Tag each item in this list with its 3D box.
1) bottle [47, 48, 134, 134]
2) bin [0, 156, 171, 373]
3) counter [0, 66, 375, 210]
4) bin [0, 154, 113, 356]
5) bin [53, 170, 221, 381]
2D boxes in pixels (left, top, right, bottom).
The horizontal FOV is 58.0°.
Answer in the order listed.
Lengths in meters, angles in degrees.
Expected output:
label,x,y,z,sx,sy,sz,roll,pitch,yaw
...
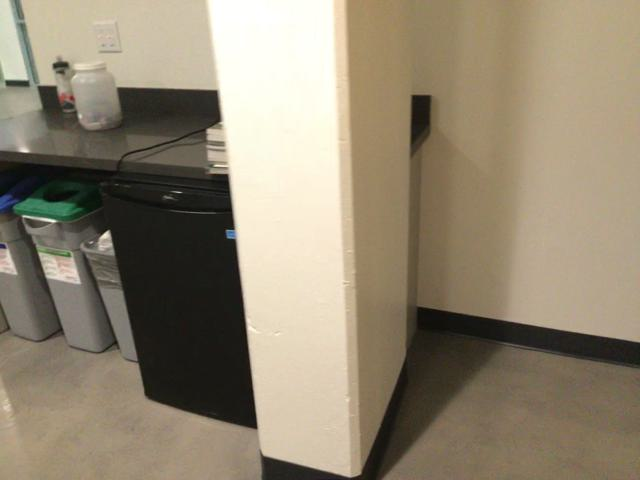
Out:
label,x,y,z,sx,sy,sz,roll,pitch,yaw
bottle,-0.820,-0.540,2.080,0.190,0.270,0.170,9,24,21
bin,-0.890,0.070,2.260,0.300,0.670,0.490,9,24,21
counter,-0.640,-0.420,2.020,1.520,0.250,0.660,9,24,21
bin,-1.150,0.040,2.320,0.310,0.660,0.430,9,24,21
bin,-0.660,0.110,2.210,0.310,0.620,0.480,9,24,21
